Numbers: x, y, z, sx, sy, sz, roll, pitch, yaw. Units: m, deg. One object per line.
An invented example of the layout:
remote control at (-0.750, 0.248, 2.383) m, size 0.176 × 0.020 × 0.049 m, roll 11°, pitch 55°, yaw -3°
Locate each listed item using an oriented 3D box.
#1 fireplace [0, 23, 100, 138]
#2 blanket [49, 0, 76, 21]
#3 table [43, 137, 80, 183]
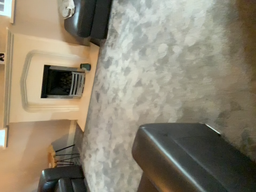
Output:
fireplace at (-1.180, -0.190, 3.110) m, size 0.600 × 1.130 × 1.400 m, roll 37°, pitch 118°, yaw 50°
blanket at (-0.790, -1.300, 2.610) m, size 0.520 × 0.170 × 0.630 m, roll 40°, pitch 120°, yaw 49°
table at (-1.140, 1.060, 3.590) m, size 0.490 × 0.430 × 0.480 m, roll 40°, pitch 121°, yaw 49°
